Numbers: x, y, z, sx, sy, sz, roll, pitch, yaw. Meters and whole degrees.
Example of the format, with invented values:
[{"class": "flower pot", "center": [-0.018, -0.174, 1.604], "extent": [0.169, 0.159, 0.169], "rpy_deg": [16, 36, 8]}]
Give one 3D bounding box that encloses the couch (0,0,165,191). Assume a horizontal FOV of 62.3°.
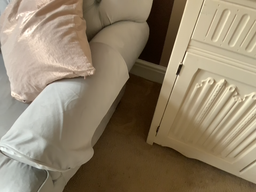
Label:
[{"class": "couch", "center": [-0.700, -0.240, 0.970], "extent": [1.460, 0.840, 1.050], "rpy_deg": [19, 54, 10]}]
